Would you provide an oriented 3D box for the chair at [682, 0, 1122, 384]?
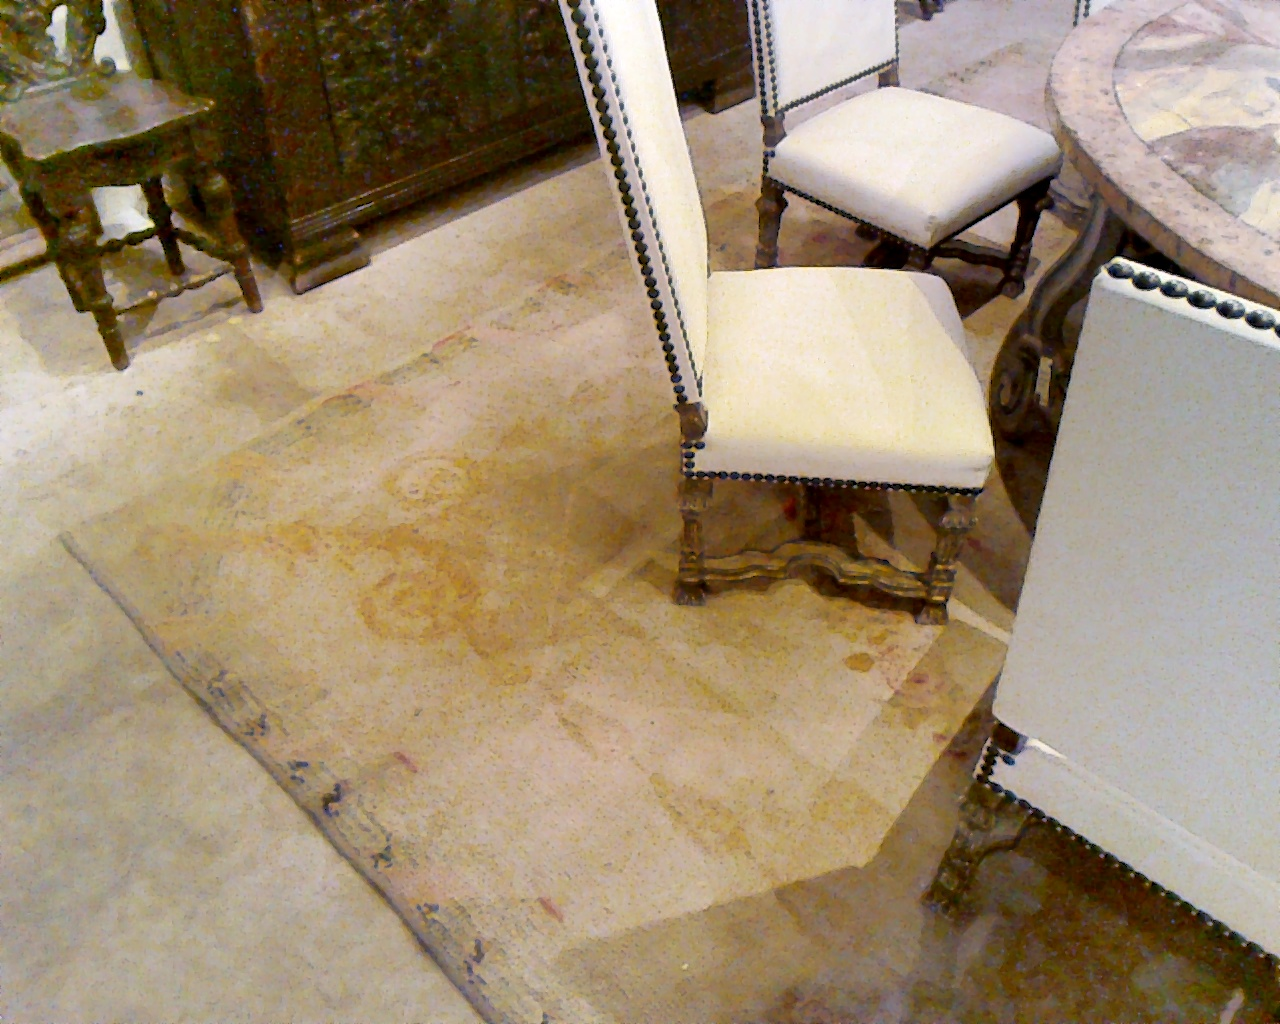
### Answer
[{"bbox_3d":[0.590,-1.040,2.520,0.750,1.130,0.590,33,52,31],"label":"chair"}]

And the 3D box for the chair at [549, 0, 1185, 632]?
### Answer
[{"bbox_3d":[0.260,-0.400,1.830,0.740,1.120,0.600,-1,42,-1],"label":"chair"}]

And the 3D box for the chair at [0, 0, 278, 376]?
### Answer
[{"bbox_3d":[-1.310,-0.940,2.520,0.560,1.010,0.440,33,52,31],"label":"chair"}]

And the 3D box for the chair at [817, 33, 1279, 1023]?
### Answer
[{"bbox_3d":[0.760,0.160,1.220,0.630,1.130,0.800,33,52,31],"label":"chair"}]
